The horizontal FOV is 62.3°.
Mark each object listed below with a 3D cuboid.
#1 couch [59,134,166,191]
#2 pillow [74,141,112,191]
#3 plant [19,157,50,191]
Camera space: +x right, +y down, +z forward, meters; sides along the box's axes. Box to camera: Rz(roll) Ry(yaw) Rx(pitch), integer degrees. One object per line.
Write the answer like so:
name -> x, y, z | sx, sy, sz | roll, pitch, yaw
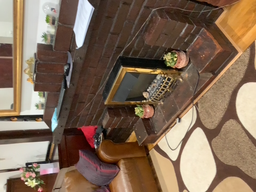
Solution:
couch -> -0.140, 1.380, 2.280 | 0.970, 0.870, 1.580 | -59, 40, 44
pillow -> -0.410, 0.820, 2.390 | 0.470, 0.240, 0.410 | -61, 39, 43
plant -> -1.540, 1.270, 3.470 | 0.350, 0.430, 0.380 | -59, 40, 44
